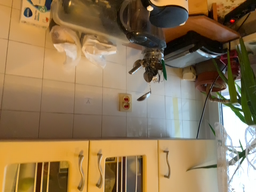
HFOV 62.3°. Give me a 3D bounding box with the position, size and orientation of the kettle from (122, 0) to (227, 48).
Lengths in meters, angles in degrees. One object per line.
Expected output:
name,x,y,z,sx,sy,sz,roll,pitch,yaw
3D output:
kettle,0.180,-0.380,0.840,0.330,0.240,0.230,7,168,-32
